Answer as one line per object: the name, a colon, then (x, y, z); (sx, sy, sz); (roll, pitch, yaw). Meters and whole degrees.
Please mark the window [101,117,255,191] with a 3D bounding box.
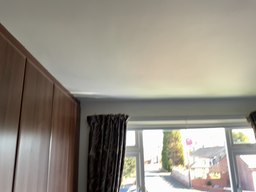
window: (0.780, 1.000, 2.760); (2.230, 1.390, 0.280); (-1, -15, -2)
